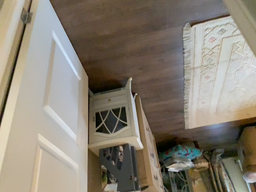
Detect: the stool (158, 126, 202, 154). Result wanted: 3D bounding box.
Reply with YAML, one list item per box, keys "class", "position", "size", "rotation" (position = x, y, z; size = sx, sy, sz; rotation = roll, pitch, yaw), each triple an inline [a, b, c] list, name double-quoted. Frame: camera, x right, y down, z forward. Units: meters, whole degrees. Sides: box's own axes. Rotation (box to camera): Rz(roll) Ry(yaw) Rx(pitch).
- class: "stool"
  position: [0.750, 0.650, 3.080]
  size: [0.490, 0.280, 0.300]
  rotation: [10, 144, -25]
